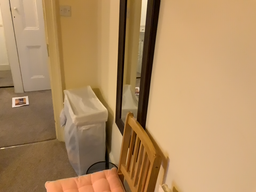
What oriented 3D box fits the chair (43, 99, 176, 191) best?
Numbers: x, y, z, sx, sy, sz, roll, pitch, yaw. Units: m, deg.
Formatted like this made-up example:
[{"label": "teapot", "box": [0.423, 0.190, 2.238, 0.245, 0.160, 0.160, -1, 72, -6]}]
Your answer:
[{"label": "chair", "box": [-0.140, 0.530, 1.180, 0.510, 0.870, 0.440, -7, 28, -21]}]
